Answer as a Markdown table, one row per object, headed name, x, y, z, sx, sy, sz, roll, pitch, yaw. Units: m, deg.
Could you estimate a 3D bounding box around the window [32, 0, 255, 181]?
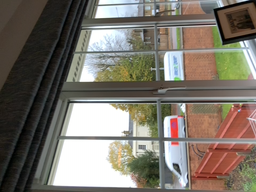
| name | x | y | z | sx | sy | sz | roll | pitch | yaw |
| --- | --- | --- | --- | --- | --- | --- | --- | --- | --- |
| window | 0.150 | -0.300 | 1.370 | 0.090 | 1.050 | 1.580 | 84 | -172 | -54 |
